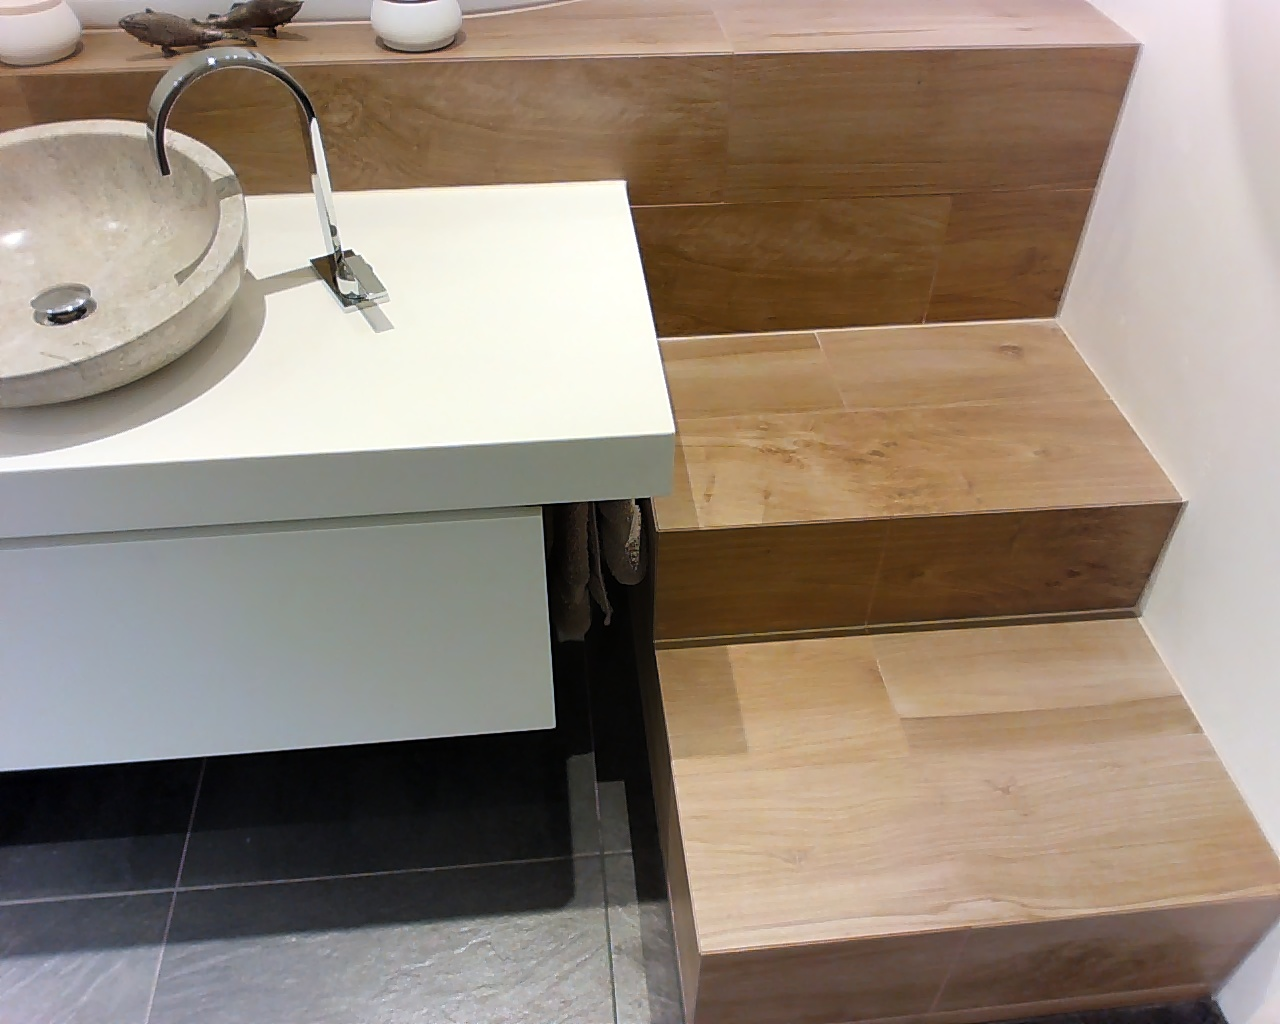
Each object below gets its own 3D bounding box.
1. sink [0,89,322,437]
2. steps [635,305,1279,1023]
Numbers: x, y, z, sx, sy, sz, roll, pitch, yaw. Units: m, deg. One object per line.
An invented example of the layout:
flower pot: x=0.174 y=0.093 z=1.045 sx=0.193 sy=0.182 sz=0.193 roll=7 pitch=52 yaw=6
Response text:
sink: x=-0.640 y=-0.290 z=1.180 sx=0.480 sy=0.150 sz=0.480 roll=-3 pitch=43 yaw=-4
steps: x=0.380 y=0.170 z=1.500 sx=0.690 sy=0.470 sz=0.900 roll=-3 pitch=43 yaw=-4
